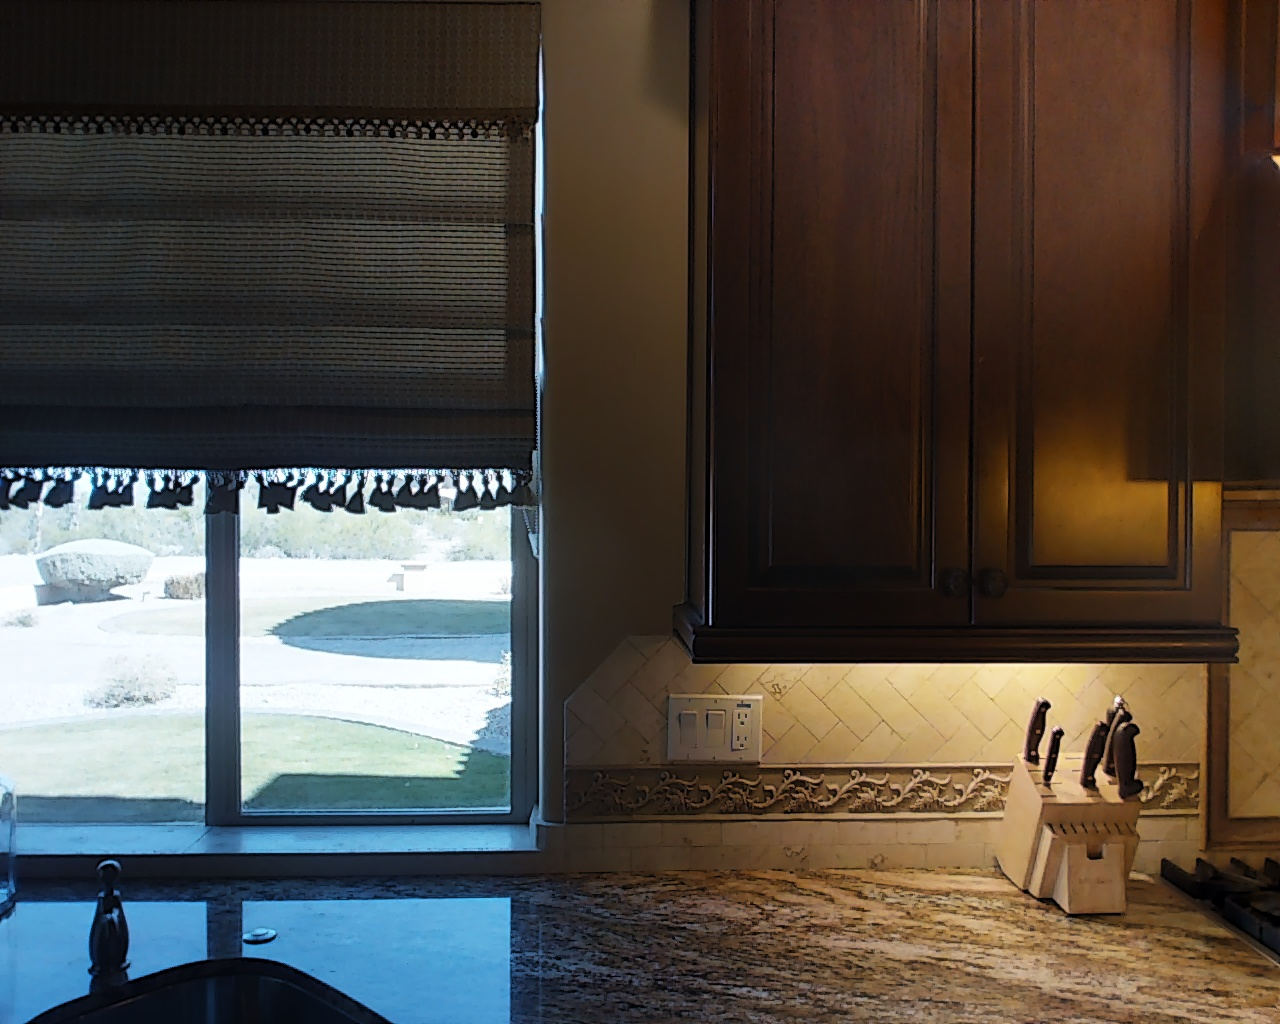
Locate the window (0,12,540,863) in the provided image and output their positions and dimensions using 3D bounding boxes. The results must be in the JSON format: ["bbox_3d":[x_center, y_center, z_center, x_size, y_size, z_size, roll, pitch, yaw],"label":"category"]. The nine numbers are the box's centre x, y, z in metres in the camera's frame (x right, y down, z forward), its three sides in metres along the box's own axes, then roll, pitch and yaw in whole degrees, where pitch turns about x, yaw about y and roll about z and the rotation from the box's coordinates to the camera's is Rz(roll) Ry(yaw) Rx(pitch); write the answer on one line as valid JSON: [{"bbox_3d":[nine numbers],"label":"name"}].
[{"bbox_3d":[-0.780,-0.120,1.840,1.190,1.440,0.040,1,1,-2],"label":"window"}]

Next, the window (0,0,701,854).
[{"bbox_3d":[-0.710,-0.170,1.790,1.600,1.460,0.080,1,1,-2],"label":"window"}]

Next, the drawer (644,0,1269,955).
[{"bbox_3d":[0.440,-0.270,1.650,0.830,1.760,0.370,1,1,-2],"label":"drawer"}]

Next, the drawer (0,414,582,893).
[{"bbox_3d":[-0.750,0.240,1.870,1.280,0.800,0.150,1,1,-2],"label":"drawer"}]
